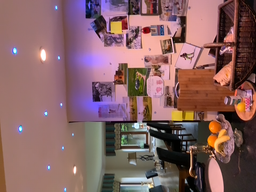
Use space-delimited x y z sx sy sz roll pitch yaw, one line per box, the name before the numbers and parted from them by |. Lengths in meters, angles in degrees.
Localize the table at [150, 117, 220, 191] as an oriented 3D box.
table | 1.120 1.490 5.080 2.970 0.750 1.190 -100 9 -80
